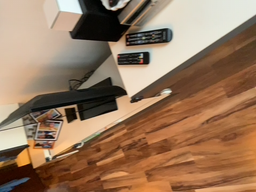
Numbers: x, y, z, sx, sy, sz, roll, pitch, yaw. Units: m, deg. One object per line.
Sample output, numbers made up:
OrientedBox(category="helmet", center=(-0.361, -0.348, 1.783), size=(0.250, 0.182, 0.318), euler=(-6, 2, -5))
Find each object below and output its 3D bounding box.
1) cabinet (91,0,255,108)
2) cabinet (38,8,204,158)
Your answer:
OrientedBox(category="cabinet", center=(0.330, -0.360, 0.960), size=(0.620, 0.640, 0.560), euler=(-33, 72, 46))
OrientedBox(category="cabinet", center=(-0.290, 0.080, 1.920), size=(1.820, 0.390, 0.560), euler=(-33, 72, 46))
